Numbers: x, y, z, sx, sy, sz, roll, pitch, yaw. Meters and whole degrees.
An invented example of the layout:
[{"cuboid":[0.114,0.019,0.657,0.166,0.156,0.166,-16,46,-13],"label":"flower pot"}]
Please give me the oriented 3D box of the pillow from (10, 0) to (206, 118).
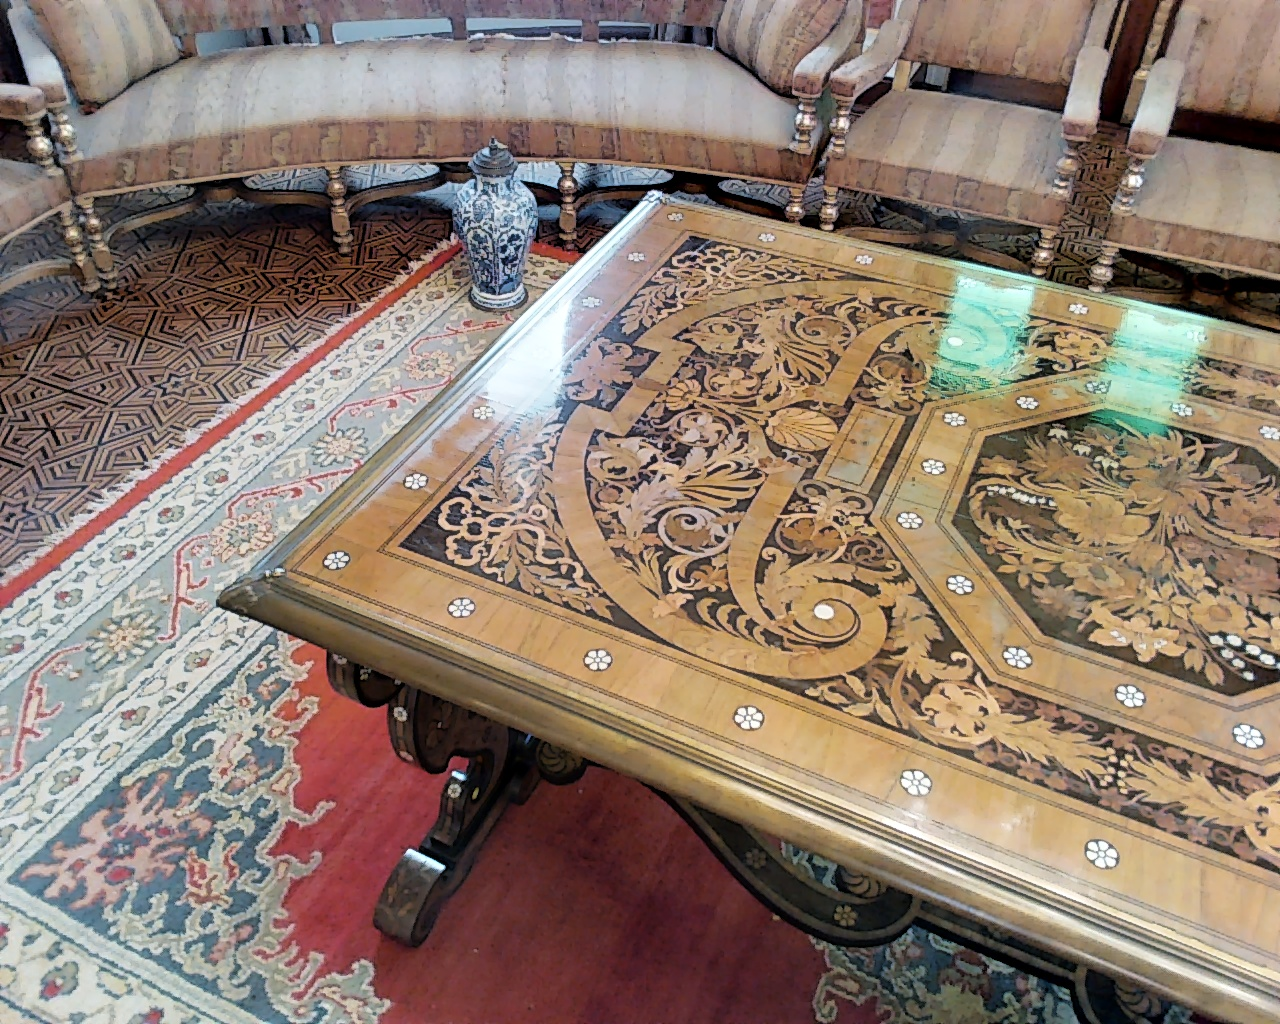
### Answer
[{"cuboid":[-1.610,-1.490,3.290,0.250,0.350,0.520,7,42,6],"label":"pillow"}]
